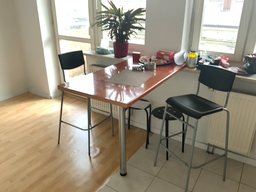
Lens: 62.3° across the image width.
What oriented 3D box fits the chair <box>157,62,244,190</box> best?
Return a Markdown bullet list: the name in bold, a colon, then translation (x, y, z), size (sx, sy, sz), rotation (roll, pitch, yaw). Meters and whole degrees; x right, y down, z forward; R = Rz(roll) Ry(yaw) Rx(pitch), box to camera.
- **chair**: translation (0.600, 0.250, 1.900), size (0.460, 0.990, 0.390), rotation (-12, 27, -28)
